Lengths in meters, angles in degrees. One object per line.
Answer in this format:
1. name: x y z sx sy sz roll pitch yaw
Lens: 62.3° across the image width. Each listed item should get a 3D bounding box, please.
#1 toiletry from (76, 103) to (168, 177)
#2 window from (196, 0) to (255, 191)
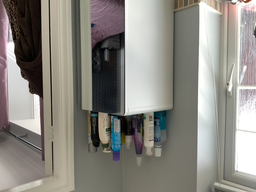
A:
1. toiletry: -0.040 0.170 1.010 0.280 0.240 0.350 -2 -176 -40
2. window: 0.620 -0.030 0.860 0.630 1.020 0.170 3 -176 45
